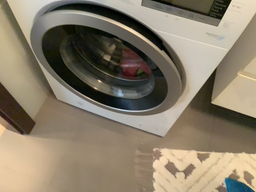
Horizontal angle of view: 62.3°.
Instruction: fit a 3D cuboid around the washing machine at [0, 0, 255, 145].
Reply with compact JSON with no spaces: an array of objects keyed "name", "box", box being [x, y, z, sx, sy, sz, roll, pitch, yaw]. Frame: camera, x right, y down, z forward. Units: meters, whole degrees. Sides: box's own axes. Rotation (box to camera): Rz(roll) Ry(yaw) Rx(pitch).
[{"name":"washing machine","box":[0.010,-0.290,0.860,0.640,0.840,0.590,18,63,4]}]
